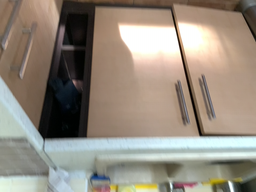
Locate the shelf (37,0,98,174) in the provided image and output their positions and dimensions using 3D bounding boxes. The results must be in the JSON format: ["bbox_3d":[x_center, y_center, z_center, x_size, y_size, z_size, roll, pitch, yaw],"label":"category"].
[{"bbox_3d":[-0.240,-0.100,1.030,0.140,0.840,0.350,0,148,-5],"label":"shelf"}]

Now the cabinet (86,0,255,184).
[{"bbox_3d":[0.220,-0.030,1.180,0.780,0.850,0.600,0,148,-5],"label":"cabinet"}]

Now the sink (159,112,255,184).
[{"bbox_3d":[0.400,0.280,1.020,0.380,0.170,0.550,0,148,-5],"label":"sink"}]
